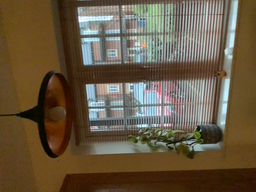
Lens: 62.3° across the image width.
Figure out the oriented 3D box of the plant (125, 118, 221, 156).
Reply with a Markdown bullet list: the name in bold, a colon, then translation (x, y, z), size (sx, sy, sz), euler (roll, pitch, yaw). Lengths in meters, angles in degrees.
- **plant**: translation (0.320, 0.310, 1.620), size (0.180, 0.680, 0.210), euler (-92, 0, -74)
